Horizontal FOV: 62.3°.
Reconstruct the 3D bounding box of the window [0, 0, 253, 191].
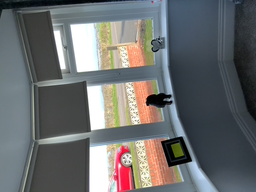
[{"bbox_3d":[-0.210,0.010,1.850,0.900,1.500,2.060,94,168,-64],"label":"window"}]
